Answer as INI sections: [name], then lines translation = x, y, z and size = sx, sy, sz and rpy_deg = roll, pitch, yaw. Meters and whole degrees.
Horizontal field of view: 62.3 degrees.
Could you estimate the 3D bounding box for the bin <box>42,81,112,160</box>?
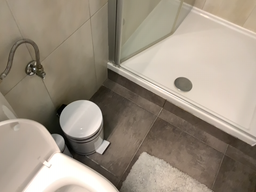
[bin]
translation = -0.250, 0.140, 1.130
size = 0.230, 0.290, 0.240
rpy_deg = 28, 60, 11
